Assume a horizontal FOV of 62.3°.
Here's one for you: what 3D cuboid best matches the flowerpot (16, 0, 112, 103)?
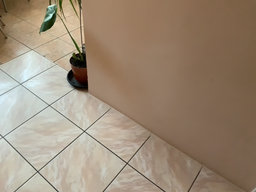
[{"bbox_3d":[-0.410,-0.520,1.450,0.400,1.020,0.450,34,52,27],"label":"flowerpot"}]
